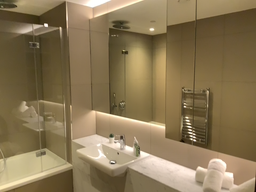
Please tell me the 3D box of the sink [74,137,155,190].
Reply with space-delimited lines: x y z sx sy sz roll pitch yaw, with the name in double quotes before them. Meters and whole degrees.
"sink" -0.130 0.570 1.930 0.470 0.170 0.580 -7 9 -43
